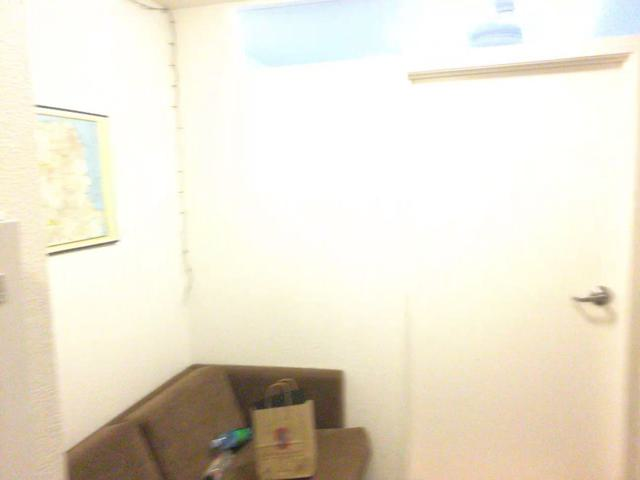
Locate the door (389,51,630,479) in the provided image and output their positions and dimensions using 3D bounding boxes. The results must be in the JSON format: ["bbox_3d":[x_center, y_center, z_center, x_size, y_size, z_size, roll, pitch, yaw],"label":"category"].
[{"bbox_3d":[0.810,0.230,2.500,0.870,1.910,0.070,-4,4,16],"label":"door"}]
